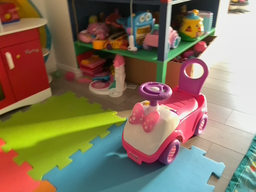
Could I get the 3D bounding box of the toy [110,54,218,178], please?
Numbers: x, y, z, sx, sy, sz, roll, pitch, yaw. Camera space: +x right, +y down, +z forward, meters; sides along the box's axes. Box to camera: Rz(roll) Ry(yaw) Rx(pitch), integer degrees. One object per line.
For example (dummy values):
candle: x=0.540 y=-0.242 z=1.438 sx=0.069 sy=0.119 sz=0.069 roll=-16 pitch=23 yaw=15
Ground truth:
toy: x=0.190 y=0.060 z=1.050 sx=0.210 sy=0.370 sz=0.530 roll=26 pitch=39 yaw=37
